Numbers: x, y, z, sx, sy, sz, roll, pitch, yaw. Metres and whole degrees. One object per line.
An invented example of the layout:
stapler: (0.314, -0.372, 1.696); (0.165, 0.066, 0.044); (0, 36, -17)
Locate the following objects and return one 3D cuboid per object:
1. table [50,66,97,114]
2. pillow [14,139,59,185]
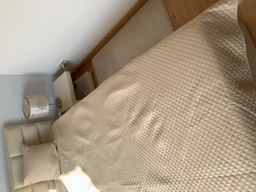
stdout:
table: (-0.680, -0.070, 2.610); (0.440, 0.320, 0.440); (-29, 72, 45)
pillow: (-0.930, 0.670, 2.160); (0.160, 0.270, 0.340); (-28, 89, 44)
